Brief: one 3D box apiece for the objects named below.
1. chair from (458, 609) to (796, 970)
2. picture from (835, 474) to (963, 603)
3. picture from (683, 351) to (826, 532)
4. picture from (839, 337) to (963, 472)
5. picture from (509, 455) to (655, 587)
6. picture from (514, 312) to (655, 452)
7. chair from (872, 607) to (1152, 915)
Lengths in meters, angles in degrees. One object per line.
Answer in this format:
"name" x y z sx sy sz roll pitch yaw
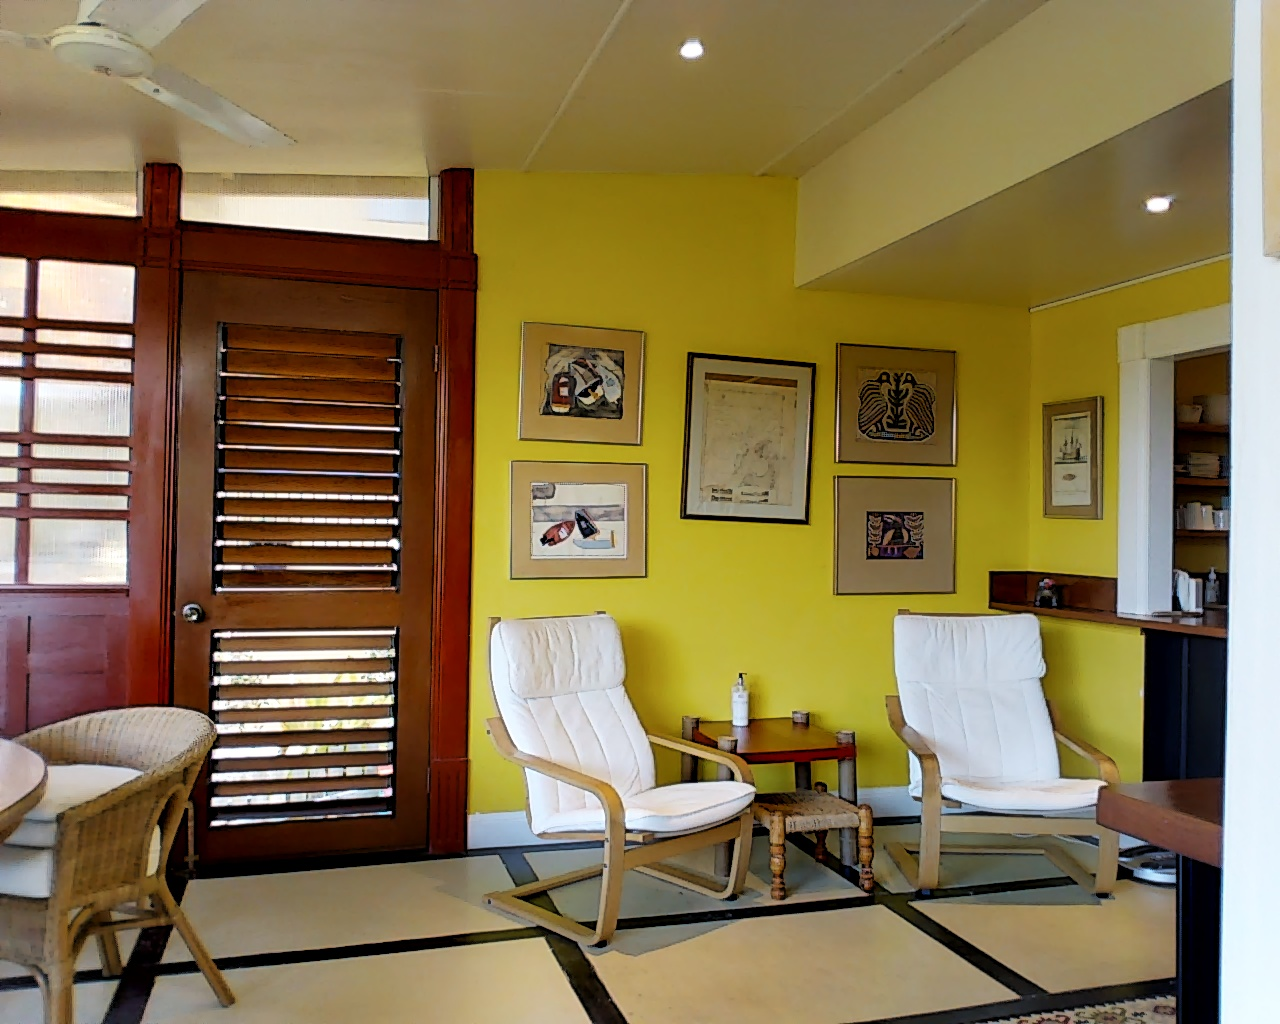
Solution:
"chair" -0.050 0.850 3.670 0.750 0.950 0.860 2 -1 -45
"picture" 1.150 0.120 4.750 0.610 0.560 0.030 1 -1 -17
"picture" 0.490 -0.290 4.560 0.620 0.740 0.050 1 -1 -17
"picture" 1.160 -0.470 4.760 0.590 0.570 0.030 1 -1 -17
"picture" -0.230 0.040 4.350 0.590 0.520 0.030 1 -1 -17
"picture" -0.220 -0.520 4.350 0.570 0.530 0.040 1 -1 -17
"chair" 1.340 0.870 4.030 0.770 0.950 0.850 1 -1 2
